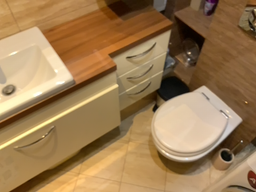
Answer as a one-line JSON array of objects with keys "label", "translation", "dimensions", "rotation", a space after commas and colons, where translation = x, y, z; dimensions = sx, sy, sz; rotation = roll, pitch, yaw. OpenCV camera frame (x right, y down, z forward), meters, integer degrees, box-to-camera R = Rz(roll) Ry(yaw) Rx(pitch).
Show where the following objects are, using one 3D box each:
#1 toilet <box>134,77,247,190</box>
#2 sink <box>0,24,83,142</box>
[{"label": "toilet", "translation": [0.370, 0.260, 1.440], "dimensions": [0.520, 0.470, 0.390], "rotation": [-29, 60, -19]}, {"label": "sink", "translation": [-0.540, -0.050, 0.940], "dimensions": [0.520, 0.180, 0.390], "rotation": [-29, 60, -19]}]
